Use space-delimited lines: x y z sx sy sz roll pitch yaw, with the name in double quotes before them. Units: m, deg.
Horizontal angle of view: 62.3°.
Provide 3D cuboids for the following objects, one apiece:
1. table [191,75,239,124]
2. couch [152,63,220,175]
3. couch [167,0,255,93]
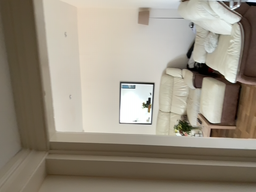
"table" 1.430 0.040 3.590 0.600 0.490 0.670 -88 0 -74
"couch" 1.160 0.480 4.760 1.060 1.000 2.220 -88 0 -70
"couch" 1.210 -0.790 3.020 1.600 0.980 0.970 -88 0 -69
